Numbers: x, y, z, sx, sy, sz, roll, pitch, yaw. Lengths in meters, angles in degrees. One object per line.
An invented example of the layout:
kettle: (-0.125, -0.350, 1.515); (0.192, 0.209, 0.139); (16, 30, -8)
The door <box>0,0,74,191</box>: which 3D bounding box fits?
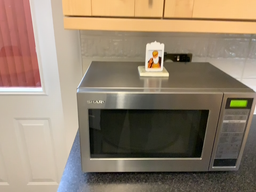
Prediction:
door: (-0.800, -0.130, 1.230); (0.820, 2.070, 0.040); (0, 22, -3)
